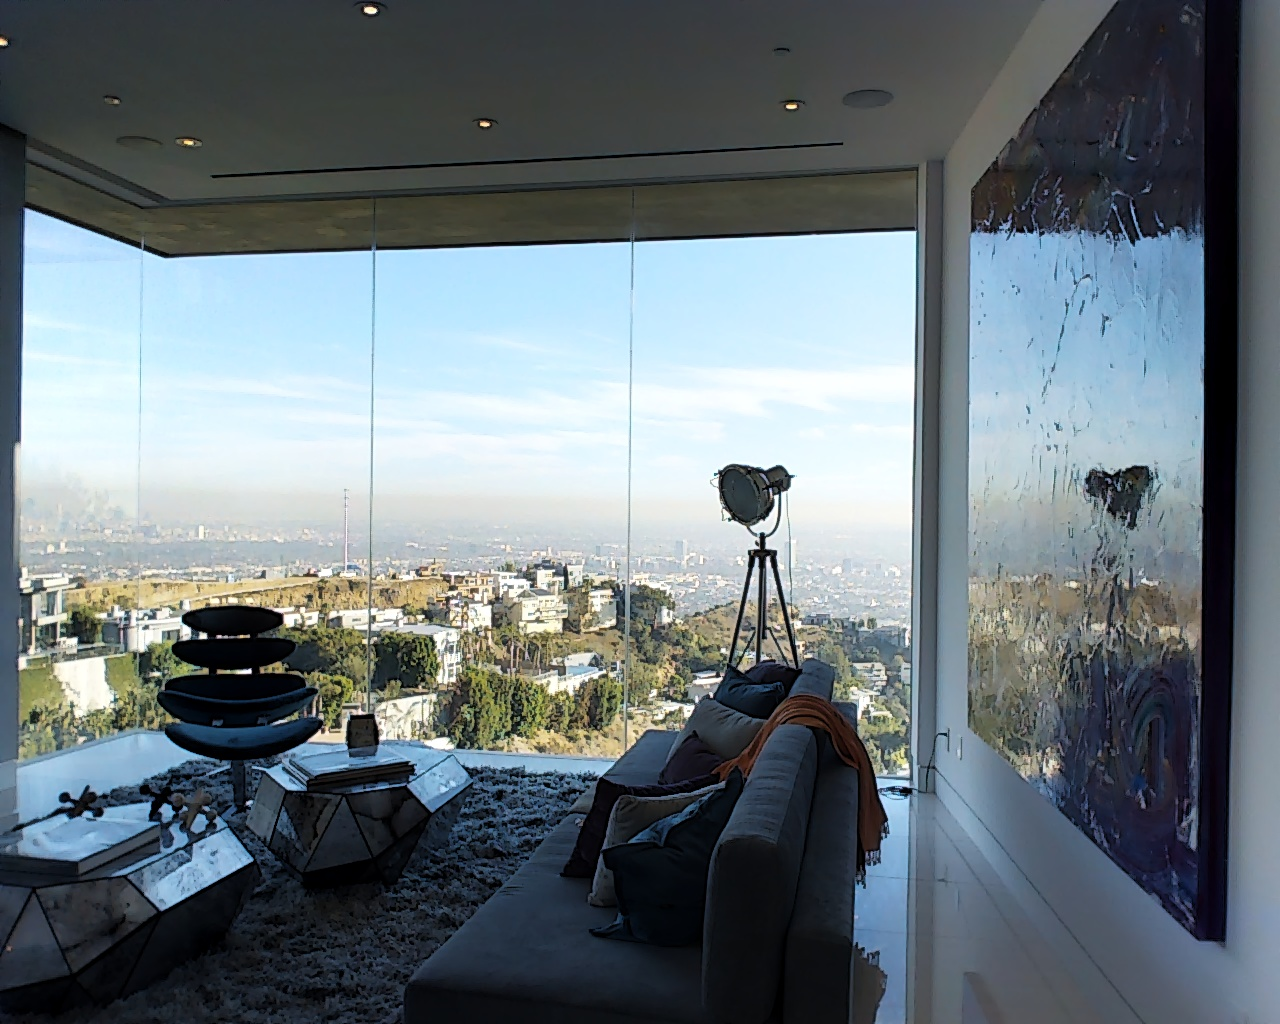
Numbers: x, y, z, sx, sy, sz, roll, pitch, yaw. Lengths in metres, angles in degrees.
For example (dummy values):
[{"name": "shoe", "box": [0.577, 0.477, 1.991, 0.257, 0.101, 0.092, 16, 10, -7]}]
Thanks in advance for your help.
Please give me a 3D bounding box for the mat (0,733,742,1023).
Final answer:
[{"name": "mat", "box": [-1.480, 1.440, 4.110, 3.280, 0.130, 4.350, 0, 0, 11]}]
